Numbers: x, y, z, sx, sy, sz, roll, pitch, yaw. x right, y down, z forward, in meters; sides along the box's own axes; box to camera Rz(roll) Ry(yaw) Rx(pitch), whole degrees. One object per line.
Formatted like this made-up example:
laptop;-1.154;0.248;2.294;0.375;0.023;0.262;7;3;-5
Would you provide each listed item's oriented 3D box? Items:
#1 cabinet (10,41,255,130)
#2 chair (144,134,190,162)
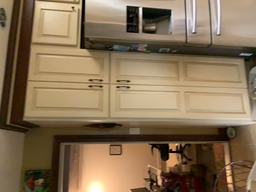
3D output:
cabinet;0.140;-0.030;2.270;0.620;2.320;0.720;123;147;-74
chair;0.890;1.210;5.000;0.550;0.940;0.590;132;139;-77
